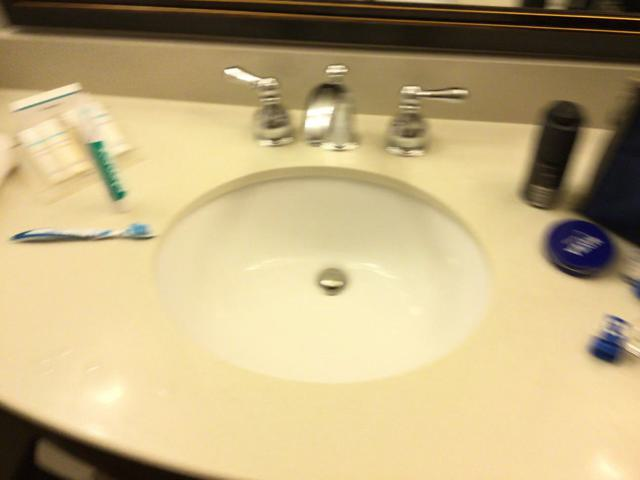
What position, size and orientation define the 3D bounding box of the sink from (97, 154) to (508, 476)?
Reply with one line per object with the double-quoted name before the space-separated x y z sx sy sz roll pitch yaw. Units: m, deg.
"sink" 0.000 0.080 0.780 0.430 0.180 0.350 5 47 7
